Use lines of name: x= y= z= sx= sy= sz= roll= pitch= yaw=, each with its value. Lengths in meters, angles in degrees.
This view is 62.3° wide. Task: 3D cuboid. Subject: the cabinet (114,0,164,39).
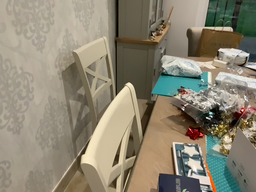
cabinet: x=0.170 y=-1.220 z=2.180 sx=0.350 sy=1.010 sz=0.960 roll=8 pitch=29 yaw=12

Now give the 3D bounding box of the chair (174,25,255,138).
chair: x=0.830 y=-0.160 z=2.100 sx=0.450 sy=0.940 sz=0.600 roll=-2 pitch=28 yaw=-7

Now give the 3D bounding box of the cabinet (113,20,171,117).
cabinet: x=0.200 y=-0.400 z=2.610 sx=0.470 sy=0.850 sz=1.010 roll=8 pitch=29 yaw=12
